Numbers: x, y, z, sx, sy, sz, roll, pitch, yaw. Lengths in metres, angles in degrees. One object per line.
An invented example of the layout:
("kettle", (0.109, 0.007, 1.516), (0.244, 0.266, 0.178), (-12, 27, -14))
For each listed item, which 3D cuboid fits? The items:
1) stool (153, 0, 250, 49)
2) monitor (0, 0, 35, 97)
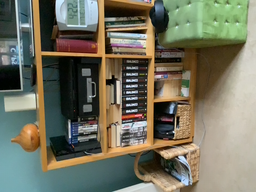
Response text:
("stool", (0.420, -0.500, 1.260), (0.380, 0.380, 0.380), (15, 106, 61))
("monitor", (-0.760, -0.330, 1.110), (0.060, 0.470, 0.680), (15, 106, 61))
